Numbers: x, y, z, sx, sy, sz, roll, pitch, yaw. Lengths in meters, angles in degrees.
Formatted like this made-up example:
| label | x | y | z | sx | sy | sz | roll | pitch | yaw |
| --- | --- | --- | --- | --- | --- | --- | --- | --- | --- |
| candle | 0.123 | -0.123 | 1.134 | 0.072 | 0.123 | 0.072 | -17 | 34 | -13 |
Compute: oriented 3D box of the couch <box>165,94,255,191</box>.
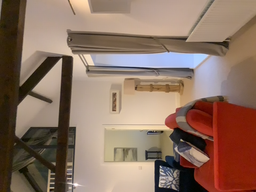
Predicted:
| label | x | y | z | sx | sy | sz | roll | pitch | yaw |
| --- | --- | --- | --- | --- | --- | --- | --- | --- | --- |
| couch | 1.010 | 0.620 | 2.660 | 1.340 | 0.790 | 1.070 | 106 | 165 | -81 |
